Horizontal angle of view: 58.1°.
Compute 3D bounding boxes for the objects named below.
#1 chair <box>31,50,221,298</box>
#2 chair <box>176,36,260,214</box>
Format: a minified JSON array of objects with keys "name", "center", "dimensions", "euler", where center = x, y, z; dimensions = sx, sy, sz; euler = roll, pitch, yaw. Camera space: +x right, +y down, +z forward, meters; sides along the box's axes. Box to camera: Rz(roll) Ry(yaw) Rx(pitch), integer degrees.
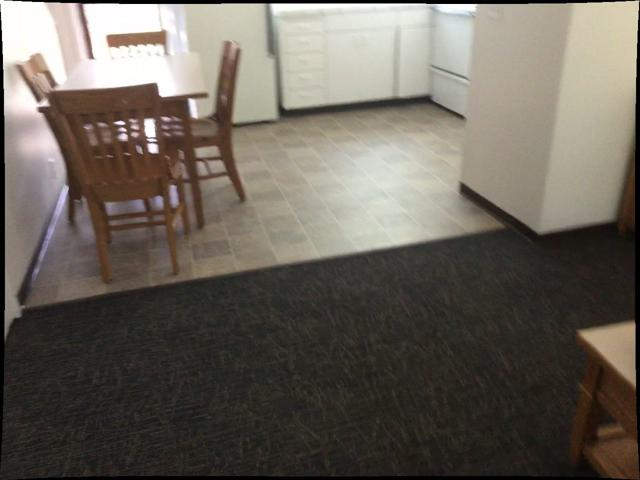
[{"name":"chair","center":[-0.859,-0.331,2.660],"dimensions":[0.589,0.901,0.610],"euler":[-11,30,-15]},{"name":"chair","center":[-0.569,-0.651,3.260],"dimensions":[0.310,0.881,0.390],"euler":[-10,30,-14]}]
